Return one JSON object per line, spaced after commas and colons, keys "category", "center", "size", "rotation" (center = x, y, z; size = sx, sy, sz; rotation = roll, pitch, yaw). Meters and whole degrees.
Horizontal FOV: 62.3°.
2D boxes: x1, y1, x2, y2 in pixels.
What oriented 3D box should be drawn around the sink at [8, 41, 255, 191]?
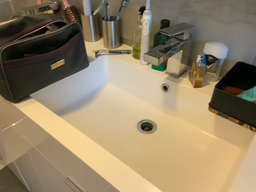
{"category": "sink", "center": [0.060, 0.070, 0.580], "size": [0.580, 0.160, 0.450], "rotation": [27, 45, 30]}
